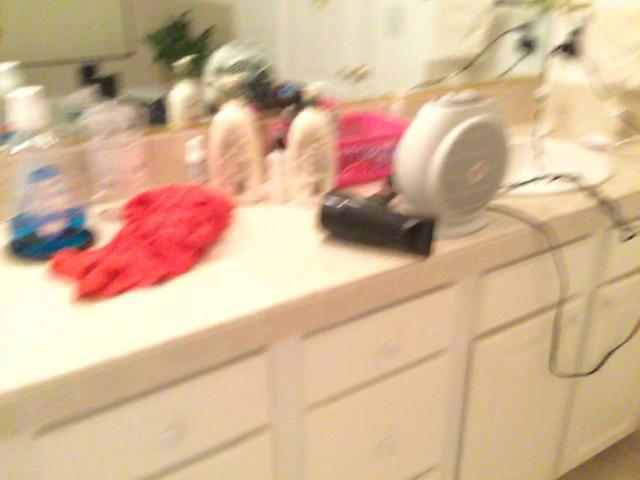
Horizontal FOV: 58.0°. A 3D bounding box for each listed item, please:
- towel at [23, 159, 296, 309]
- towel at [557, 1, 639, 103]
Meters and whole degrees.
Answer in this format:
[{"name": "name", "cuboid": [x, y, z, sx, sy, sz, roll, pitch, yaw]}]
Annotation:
[{"name": "towel", "cuboid": [-0.300, -0.040, 1.040, 0.370, 0.090, 0.380, -15, 24, -29]}, {"name": "towel", "cuboid": [0.770, -0.470, 1.440, 0.090, 0.230, 0.320, -15, 24, -29]}]
